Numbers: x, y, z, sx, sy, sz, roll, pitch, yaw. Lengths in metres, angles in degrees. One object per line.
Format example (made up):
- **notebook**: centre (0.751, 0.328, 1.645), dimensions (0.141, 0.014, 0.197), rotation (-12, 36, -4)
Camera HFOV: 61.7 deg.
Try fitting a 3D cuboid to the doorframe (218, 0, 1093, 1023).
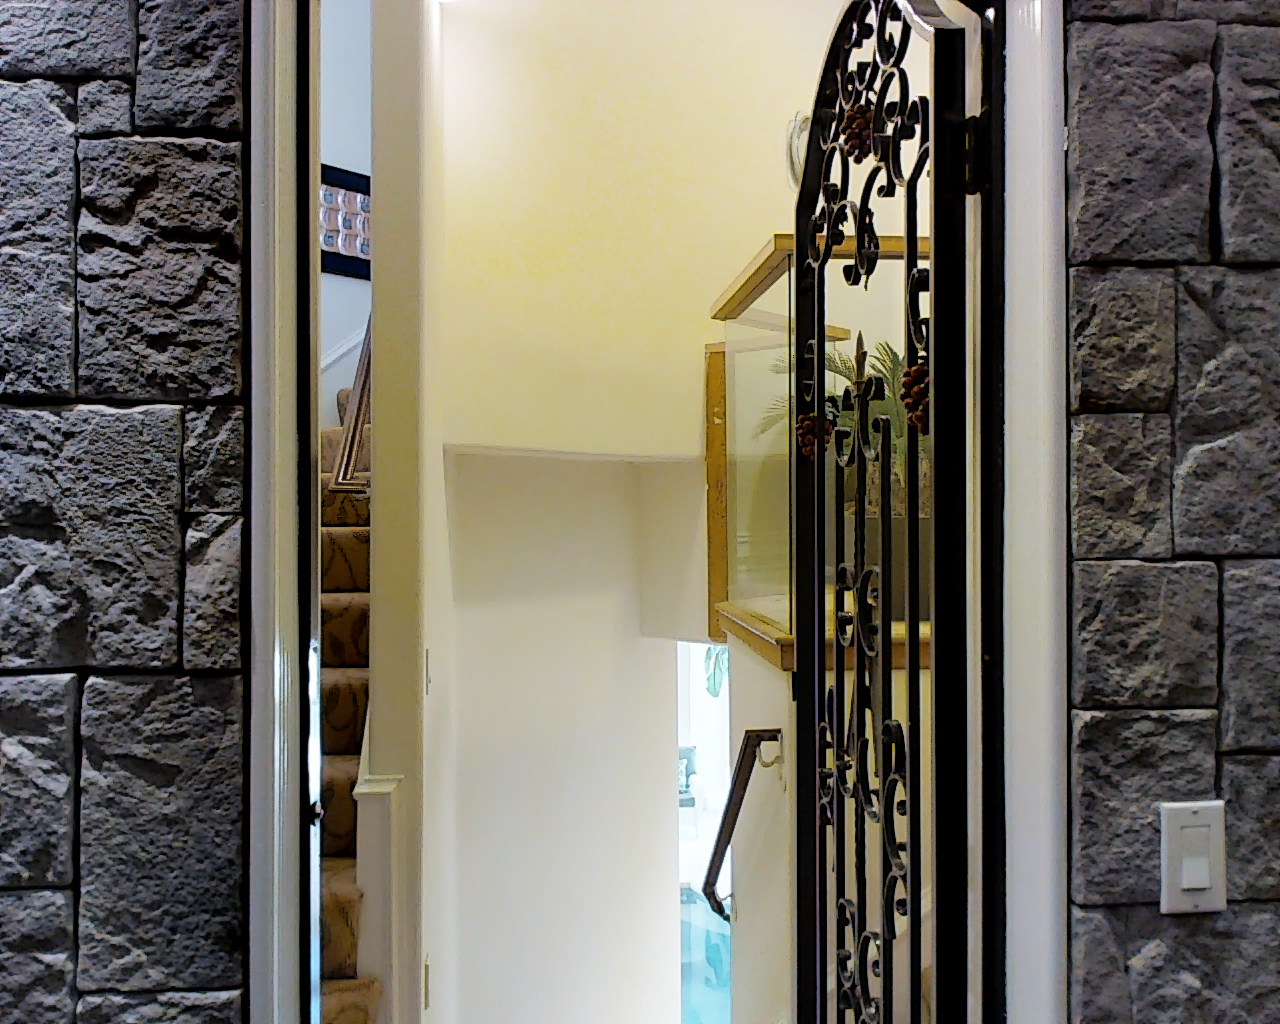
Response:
- **doorframe**: centre (0.020, 0.190, 1.150), dimensions (0.850, 2.450, 0.220), rotation (0, -1, -5)
